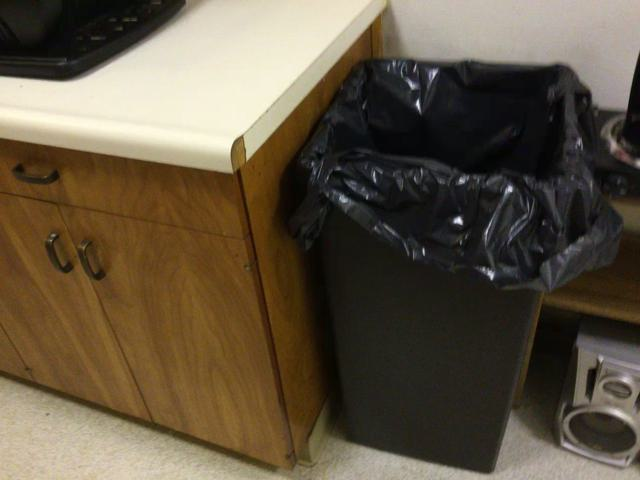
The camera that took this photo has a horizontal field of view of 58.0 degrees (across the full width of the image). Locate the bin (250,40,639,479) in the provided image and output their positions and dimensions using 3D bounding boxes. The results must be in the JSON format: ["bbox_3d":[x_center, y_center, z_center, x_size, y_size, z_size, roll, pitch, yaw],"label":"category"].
[{"bbox_3d":[0.280,0.110,1.180,0.520,0.820,0.550,10,42,20],"label":"bin"}]
